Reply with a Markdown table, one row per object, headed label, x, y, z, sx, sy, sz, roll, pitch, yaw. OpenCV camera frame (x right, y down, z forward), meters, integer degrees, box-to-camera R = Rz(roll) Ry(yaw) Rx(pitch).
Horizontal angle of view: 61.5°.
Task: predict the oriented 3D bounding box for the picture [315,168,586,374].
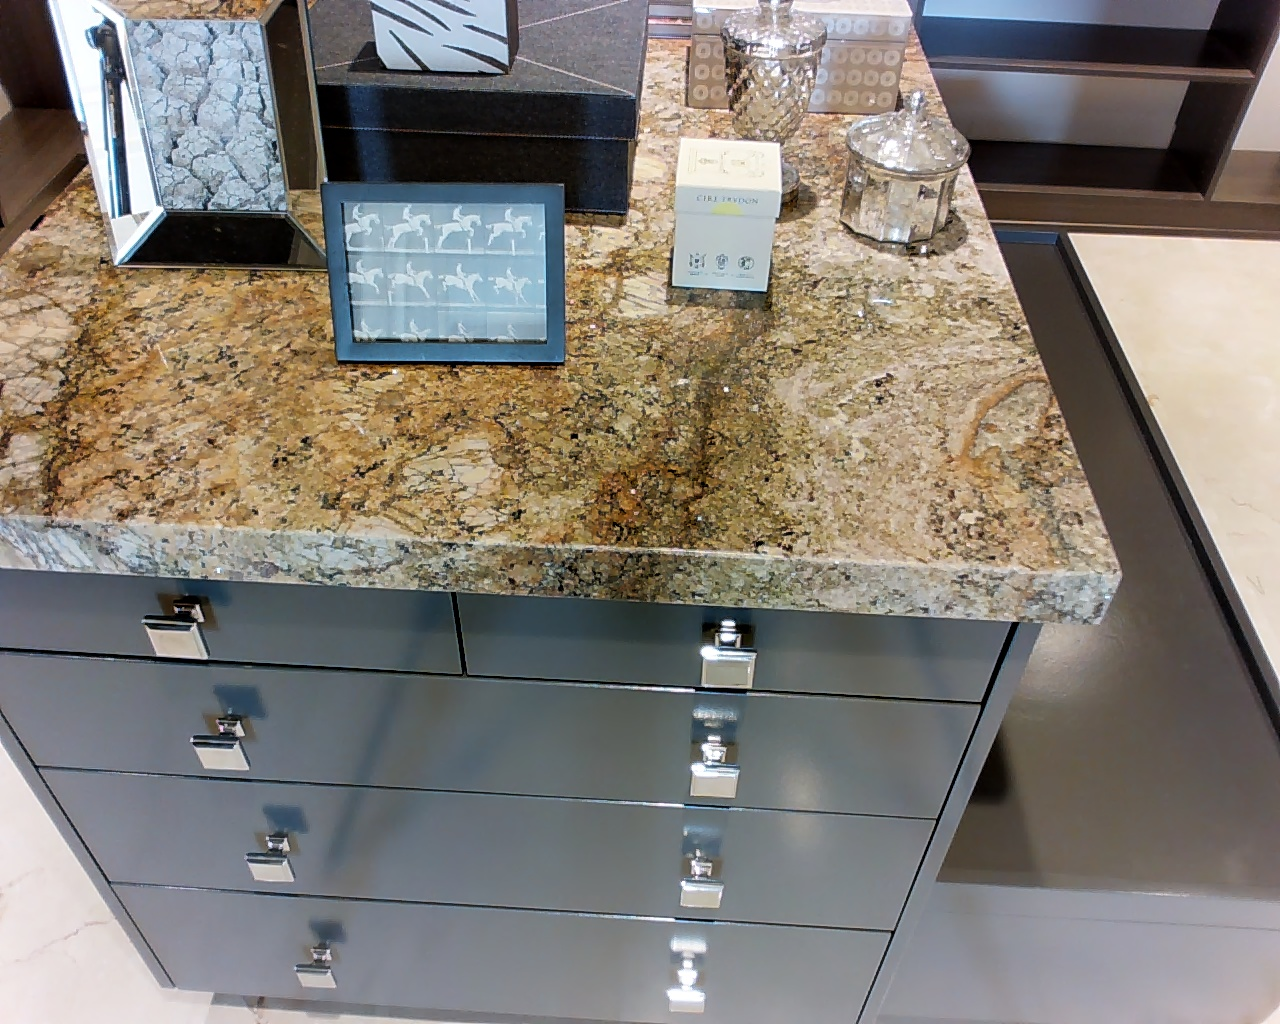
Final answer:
| label | x | y | z | sx | sy | sz | roll | pitch | yaw |
| --- | --- | --- | --- | --- | --- | --- | --- | --- | --- |
| picture | -0.160 | -0.210 | 0.940 | 0.220 | 0.160 | 0.050 | 2 | 23 | -1 |

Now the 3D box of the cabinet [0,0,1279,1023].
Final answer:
| label | x | y | z | sx | sy | sz | roll | pitch | yaw |
| --- | --- | --- | --- | --- | --- | --- | --- | --- | --- |
| cabinet | 0.110 | -0.150 | 1.710 | 1.600 | 1.070 | 1.780 | 3 | 43 | 2 |
